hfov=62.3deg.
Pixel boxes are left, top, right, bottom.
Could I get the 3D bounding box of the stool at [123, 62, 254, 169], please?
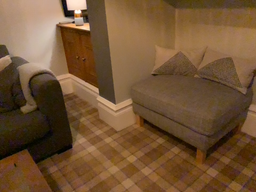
[{"bbox_3d":[0.470,0.080,1.840,0.630,0.450,0.820,-22,32,-33],"label":"stool"}]
